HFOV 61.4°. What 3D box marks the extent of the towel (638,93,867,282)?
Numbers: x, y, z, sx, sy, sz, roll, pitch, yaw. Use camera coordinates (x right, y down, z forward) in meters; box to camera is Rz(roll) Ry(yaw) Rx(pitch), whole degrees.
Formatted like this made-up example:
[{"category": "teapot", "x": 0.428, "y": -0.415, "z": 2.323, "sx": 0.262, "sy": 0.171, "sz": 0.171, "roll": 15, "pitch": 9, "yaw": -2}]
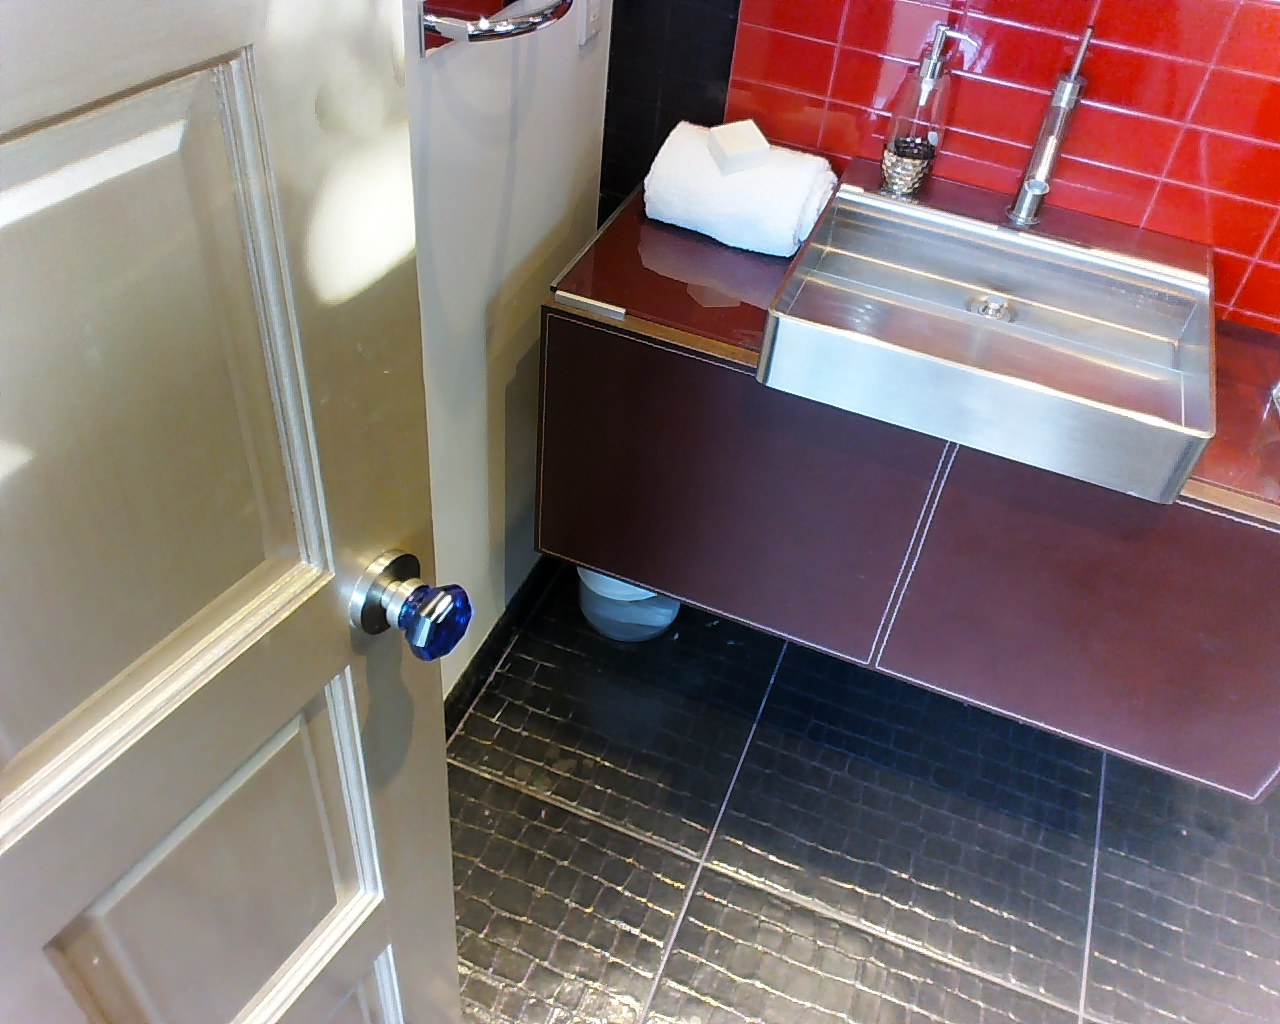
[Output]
[{"category": "towel", "x": 0.160, "y": -0.470, "z": 1.550, "sx": 0.270, "sy": 0.150, "sz": 0.170, "roll": 18, "pitch": 44, "yaw": 12}]
